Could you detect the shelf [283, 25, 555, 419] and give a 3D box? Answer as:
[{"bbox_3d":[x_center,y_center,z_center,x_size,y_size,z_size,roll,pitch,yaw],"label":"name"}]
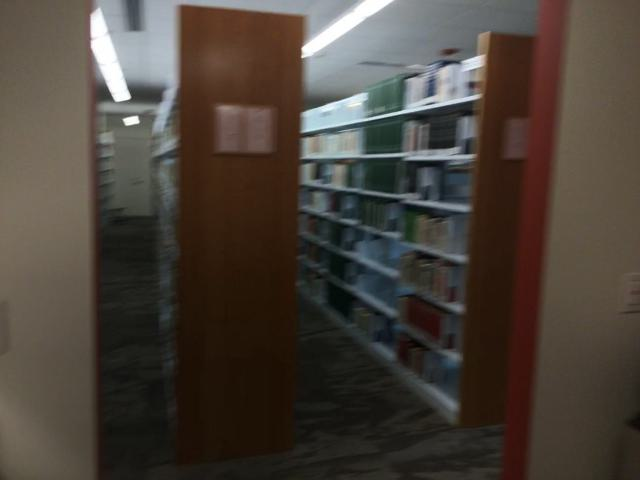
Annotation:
[{"bbox_3d":[0.380,-0.350,5.020,0.520,2.060,4.100,-1,9,-16],"label":"shelf"}]
